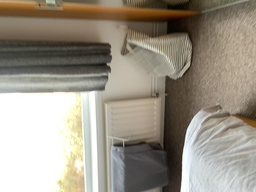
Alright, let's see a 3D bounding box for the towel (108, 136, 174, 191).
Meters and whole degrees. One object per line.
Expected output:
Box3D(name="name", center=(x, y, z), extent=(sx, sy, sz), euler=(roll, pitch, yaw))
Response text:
Box3D(name="towel", center=(0.120, 0.640, 1.900), extent=(0.140, 0.570, 0.470), euler=(-156, 64, -66))
